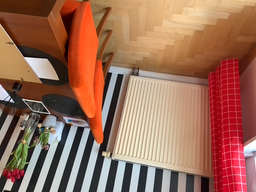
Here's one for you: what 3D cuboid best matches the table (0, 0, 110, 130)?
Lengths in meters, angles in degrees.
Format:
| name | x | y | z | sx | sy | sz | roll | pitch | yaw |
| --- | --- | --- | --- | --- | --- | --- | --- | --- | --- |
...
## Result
| name | x | y | z | sx | sy | sz | roll | pitch | yaw |
| --- | --- | --- | --- | --- | --- | --- | --- | --- | --- |
| table | -0.710 | -0.410 | 1.680 | 0.890 | 0.800 | 1.330 | 9 | 152 | 5 |
